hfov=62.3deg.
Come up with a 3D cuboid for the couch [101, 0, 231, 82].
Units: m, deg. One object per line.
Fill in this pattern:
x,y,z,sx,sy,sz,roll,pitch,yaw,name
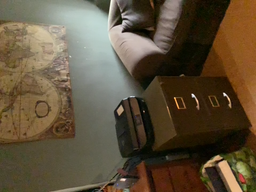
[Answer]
0.310,-1.020,2.090,1.130,0.720,1.350,-118,35,-47,couch
